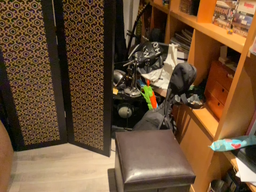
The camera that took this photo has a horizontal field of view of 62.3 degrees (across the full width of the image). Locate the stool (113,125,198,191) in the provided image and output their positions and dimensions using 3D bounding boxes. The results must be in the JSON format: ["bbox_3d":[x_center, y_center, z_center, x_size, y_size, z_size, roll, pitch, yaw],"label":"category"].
[{"bbox_3d":[0.130,0.490,1.400,0.420,0.410,0.420,-1,30,-8],"label":"stool"}]
